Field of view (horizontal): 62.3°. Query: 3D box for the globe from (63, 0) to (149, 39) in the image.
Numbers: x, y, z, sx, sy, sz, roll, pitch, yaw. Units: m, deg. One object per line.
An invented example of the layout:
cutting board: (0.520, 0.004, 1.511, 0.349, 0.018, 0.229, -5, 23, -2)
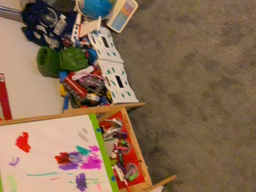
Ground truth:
globe: (-0.150, -0.640, 1.490, 0.290, 0.500, 0.250, -32, 70, 35)
